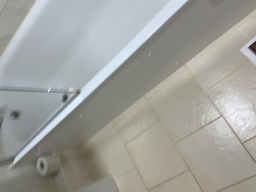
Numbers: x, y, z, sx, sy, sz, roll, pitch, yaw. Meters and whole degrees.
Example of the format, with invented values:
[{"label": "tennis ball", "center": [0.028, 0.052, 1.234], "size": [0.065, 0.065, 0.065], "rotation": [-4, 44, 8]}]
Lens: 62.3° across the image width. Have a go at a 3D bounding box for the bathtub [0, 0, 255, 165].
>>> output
[{"label": "bathtub", "center": [-0.180, -0.300, 1.300], "size": [1.650, 0.560, 0.680], "rotation": [-38, 69, 27]}]
